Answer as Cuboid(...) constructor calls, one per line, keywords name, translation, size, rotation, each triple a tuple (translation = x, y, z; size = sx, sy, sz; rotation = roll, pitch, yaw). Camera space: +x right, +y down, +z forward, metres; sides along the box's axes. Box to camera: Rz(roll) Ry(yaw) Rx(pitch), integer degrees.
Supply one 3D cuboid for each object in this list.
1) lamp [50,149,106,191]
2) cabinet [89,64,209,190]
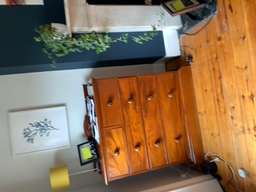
Cuboid(name="lamp", translation=(-0.480, 0.720, 2.030), size=(0.410, 0.440, 0.280), rotation=(159, 104, -74))
Cuboid(name="cabinet", translation=(0.180, 0.260, 2.170), size=(0.500, 0.980, 1.000), rotation=(161, 102, -74))
